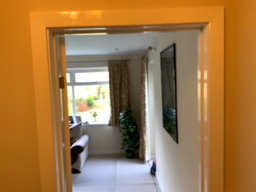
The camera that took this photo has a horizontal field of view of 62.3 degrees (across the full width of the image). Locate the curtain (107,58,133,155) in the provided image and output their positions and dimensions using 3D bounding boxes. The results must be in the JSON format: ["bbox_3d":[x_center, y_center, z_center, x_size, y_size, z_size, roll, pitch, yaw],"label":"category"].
[{"bbox_3d":[-0.170,0.260,5.020,0.540,2.240,0.190,-1,4,1],"label":"curtain"}]

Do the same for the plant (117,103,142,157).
[{"bbox_3d":[0.040,0.760,4.880,0.510,1.130,0.510,-1,4,1],"label":"plant"}]
